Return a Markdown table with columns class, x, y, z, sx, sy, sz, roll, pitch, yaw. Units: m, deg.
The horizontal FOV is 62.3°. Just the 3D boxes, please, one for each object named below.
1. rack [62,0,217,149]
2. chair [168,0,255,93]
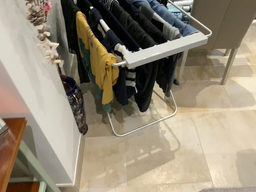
| class | x | y | z | sx | sy | sz | roll | pitch | yaw |
| --- | --- | --- | --- | --- | --- | --- | --- | --- | --- |
| rack | -0.040 | -0.320 | 1.460 | 0.540 | 0.730 | 0.990 | -18 | 52 | -14 |
| chair | 0.600 | -0.560 | 1.570 | 0.450 | 0.910 | 0.610 | 2 | 49 | 3 |
